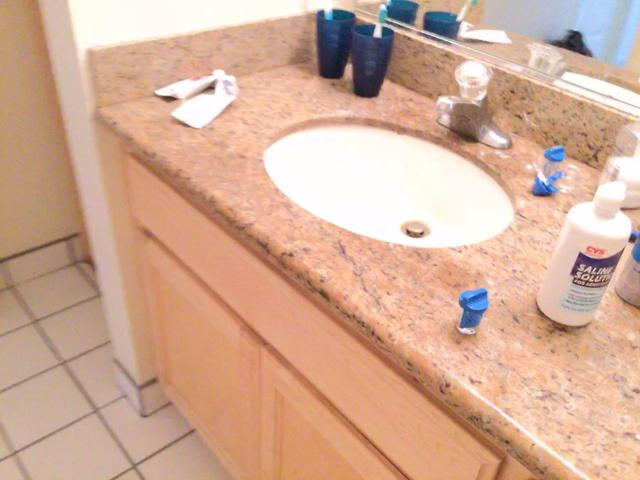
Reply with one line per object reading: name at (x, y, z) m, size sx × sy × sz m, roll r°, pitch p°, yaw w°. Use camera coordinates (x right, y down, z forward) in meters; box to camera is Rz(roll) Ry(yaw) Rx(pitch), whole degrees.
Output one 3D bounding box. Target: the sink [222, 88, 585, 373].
sink at (0.120, -0.060, 0.950) m, size 0.380 × 0.180 × 0.420 m, roll -24°, pitch 46°, yaw -36°
